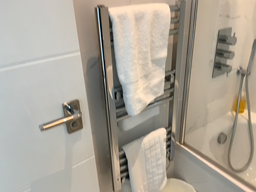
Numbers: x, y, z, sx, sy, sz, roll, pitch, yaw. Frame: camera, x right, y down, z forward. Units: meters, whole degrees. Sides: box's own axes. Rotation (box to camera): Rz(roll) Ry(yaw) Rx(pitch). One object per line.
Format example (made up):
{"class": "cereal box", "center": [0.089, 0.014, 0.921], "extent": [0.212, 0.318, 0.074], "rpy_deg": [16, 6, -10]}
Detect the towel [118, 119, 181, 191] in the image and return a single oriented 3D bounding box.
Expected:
{"class": "towel", "center": [0.110, 0.400, 1.080], "extent": [0.280, 0.510, 0.100], "rpy_deg": [-17, 30, -26]}
